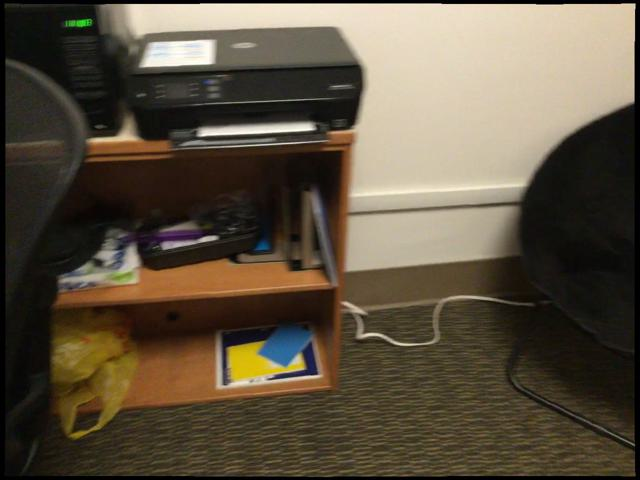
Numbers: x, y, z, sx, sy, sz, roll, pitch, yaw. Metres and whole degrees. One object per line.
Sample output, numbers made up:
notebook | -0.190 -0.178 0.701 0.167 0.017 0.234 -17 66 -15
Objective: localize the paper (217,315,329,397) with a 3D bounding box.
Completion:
paper | -0.140 0.321 1.630 0.289 0.030 0.250 -5 34 -9

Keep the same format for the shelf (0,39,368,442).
shelf | -0.419 0.010 1.410 0.958 0.861 0.360 -5 34 -9
